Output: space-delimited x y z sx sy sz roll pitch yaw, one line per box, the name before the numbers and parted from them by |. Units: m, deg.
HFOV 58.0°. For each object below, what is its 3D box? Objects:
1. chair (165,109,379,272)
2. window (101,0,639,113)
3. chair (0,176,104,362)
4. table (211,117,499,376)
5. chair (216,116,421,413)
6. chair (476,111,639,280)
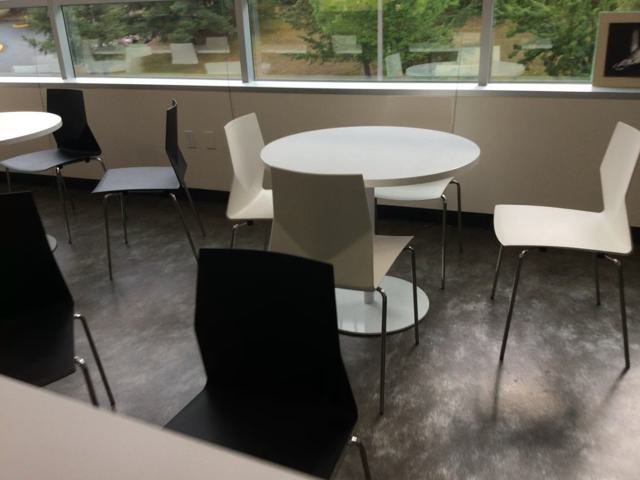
chair | -0.160 -0.260 2.480 0.620 0.440 0.710 9 26 22
window | 0.450 -1.120 3.190 3.850 0.620 0.380 9 26 22
chair | -0.970 0.070 1.800 0.370 0.430 0.330 9 26 22
table | 0.200 -0.060 2.540 0.940 0.730 0.880 9 26 22
chair | 0.030 0.050 2.120 0.510 0.870 0.550 9 26 22
chair | 0.920 -0.200 2.180 0.530 0.450 0.500 9 26 22
